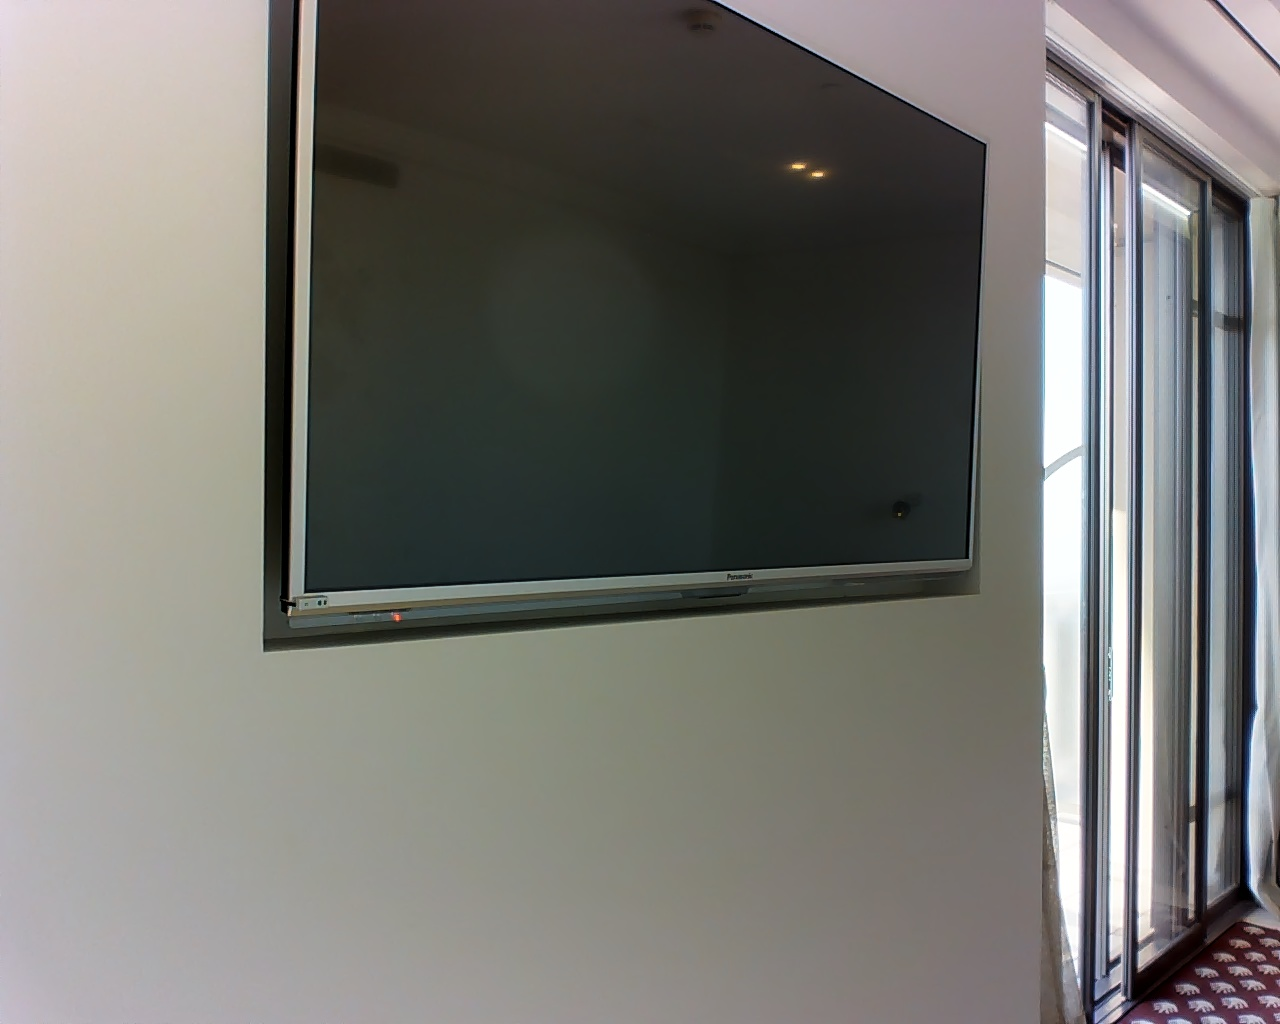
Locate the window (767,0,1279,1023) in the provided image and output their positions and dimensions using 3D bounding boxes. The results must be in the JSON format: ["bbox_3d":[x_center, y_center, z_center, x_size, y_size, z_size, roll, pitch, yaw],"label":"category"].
[{"bbox_3d":[1.540,0.090,3.110,0.170,2.611,3.540,1,0,45],"label":"window"}]
